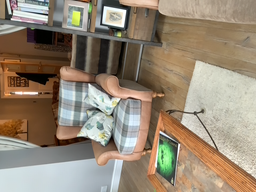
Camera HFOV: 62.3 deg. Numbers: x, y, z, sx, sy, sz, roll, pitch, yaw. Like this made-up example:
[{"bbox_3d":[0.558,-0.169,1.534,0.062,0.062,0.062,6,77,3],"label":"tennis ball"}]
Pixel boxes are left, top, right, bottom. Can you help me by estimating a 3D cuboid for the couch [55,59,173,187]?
[{"bbox_3d":[-0.260,0.210,2.430,0.940,0.950,1.020,40,126,57],"label":"couch"}]
